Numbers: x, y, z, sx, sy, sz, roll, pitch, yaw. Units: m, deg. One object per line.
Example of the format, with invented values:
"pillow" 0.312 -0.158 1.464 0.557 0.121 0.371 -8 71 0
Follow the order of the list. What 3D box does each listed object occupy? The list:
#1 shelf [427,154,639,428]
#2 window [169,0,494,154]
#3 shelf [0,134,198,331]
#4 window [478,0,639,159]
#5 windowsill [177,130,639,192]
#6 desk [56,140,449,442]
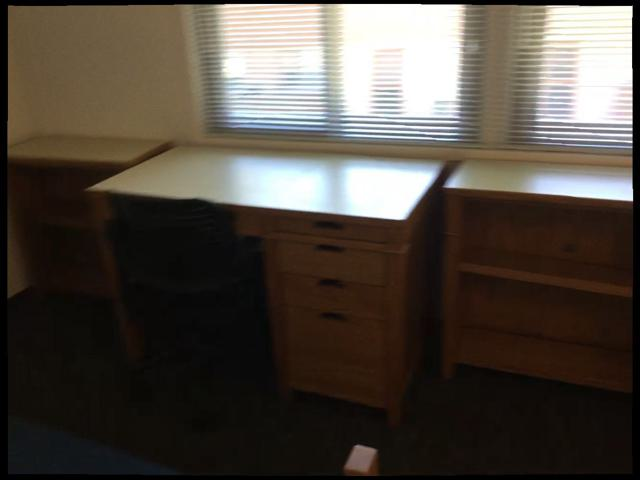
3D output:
"shelf" 0.828 0.160 1.990 0.829 0.781 0.350 7 28 22
"window" 0.020 -0.711 2.230 1.208 0.631 0.230 8 28 22
"shelf" -1.068 -0.060 2.700 0.799 0.751 0.370 7 28 22
"window" 1.178 -0.631 1.790 1.258 0.721 0.260 8 28 22
"windowsill" 0.539 -0.281 2.090 2.486 0.090 0.080 8 28 22
"desk" -0.210 0.110 2.230 1.248 0.761 0.650 7 28 22
